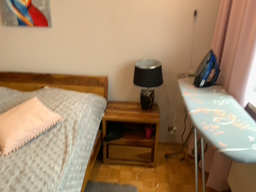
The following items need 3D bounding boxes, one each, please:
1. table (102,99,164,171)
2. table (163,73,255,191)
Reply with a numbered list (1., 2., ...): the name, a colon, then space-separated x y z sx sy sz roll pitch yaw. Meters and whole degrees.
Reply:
1. table: 0.050 0.400 2.280 0.580 0.570 0.430 4 22 4
2. table: 0.630 0.430 1.810 0.470 0.920 1.230 4 22 4
